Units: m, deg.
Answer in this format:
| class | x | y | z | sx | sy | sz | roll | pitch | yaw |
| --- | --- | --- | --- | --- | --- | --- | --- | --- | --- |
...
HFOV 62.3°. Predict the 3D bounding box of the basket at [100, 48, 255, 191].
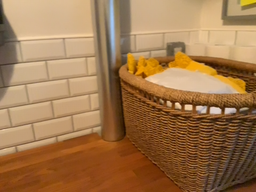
| class | x | y | z | sx | sy | sz | roll | pitch | yaw |
| --- | --- | --- | --- | --- | --- | --- | --- | --- | --- |
| basket | 0.220 | 0.060 | 0.750 | 0.400 | 0.380 | 0.640 | -11 | 20 | -27 |
